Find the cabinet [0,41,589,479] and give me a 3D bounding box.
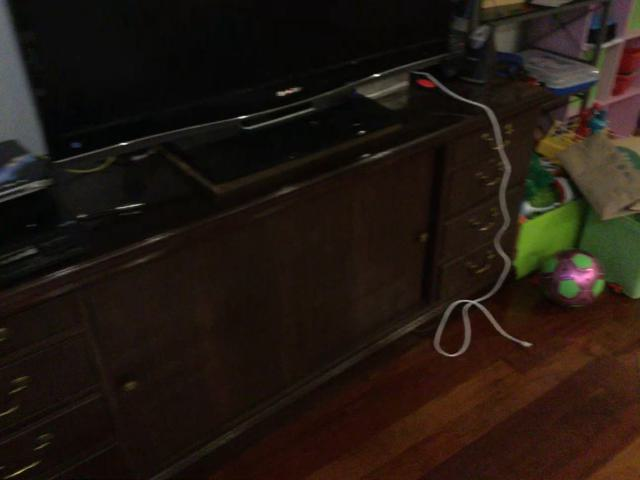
[{"bbox_3d":[-0.200,0.090,1.550,1.810,0.770,0.650,-23,36,-26],"label":"cabinet"}]
